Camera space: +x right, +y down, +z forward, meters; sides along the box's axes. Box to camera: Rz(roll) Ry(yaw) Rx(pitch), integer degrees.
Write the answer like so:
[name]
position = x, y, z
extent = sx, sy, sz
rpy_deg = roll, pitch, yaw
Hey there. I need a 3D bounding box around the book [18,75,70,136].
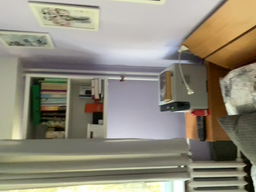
[book]
position = -0.670, 0.090, 1.750
extent = 0.260, 0.320, 0.460
rpy_deg = 135, 136, -77
